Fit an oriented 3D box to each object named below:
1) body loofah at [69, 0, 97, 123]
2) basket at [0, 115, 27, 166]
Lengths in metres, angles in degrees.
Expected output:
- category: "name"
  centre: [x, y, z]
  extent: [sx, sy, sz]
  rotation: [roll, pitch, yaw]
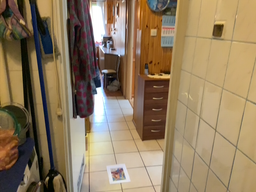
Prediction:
- category: "body loofah"
  centre: [-0.310, -0.390, 1.490]
  extent: [0.160, 1.110, 0.310]
  rotation: [-1, 18, -11]
- category: "basket"
  centre: [-0.620, 0.200, 1.000]
  extent: [0.180, 0.140, 0.240]
  rotation: [0, 18, -7]
